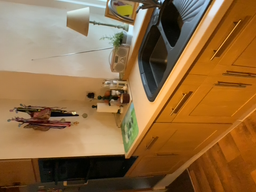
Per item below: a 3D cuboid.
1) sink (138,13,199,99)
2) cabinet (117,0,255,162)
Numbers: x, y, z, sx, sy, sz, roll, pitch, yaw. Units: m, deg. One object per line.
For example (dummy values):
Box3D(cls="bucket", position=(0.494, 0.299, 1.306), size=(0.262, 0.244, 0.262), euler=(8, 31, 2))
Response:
Box3D(cls="sink", position=(0.250, -0.280, 1.500), size=(0.350, 0.180, 0.480), euler=(115, 152, -48))
Box3D(cls="cabinet", position=(0.660, -0.280, 1.460), size=(2.110, 0.920, 0.650), euler=(115, 152, -48))
